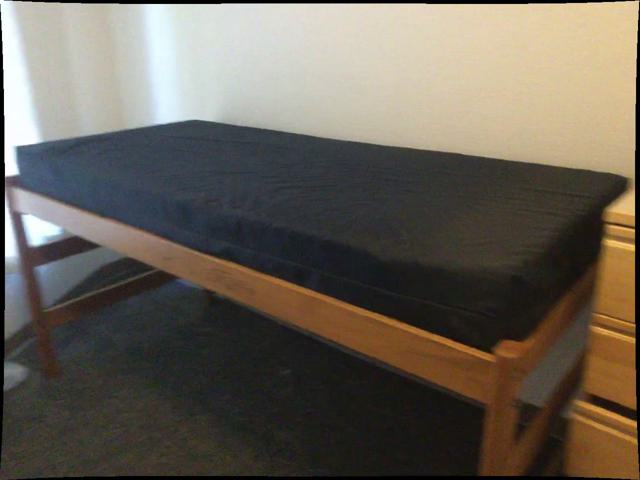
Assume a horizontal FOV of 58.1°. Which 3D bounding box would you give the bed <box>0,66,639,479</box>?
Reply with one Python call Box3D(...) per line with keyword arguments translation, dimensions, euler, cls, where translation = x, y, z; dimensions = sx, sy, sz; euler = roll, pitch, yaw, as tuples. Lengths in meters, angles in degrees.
Box3D(translation=(-0.170, 0.200, 2.150), dimensions=(2.388, 1.332, 1.049), euler=(19, 26, 32), cls="bed")
